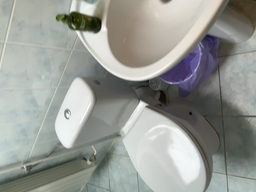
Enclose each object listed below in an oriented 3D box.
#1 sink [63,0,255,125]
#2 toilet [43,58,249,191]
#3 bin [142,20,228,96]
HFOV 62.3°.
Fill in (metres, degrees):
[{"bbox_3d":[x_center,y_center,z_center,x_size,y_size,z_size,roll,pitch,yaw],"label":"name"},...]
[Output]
[{"bbox_3d":[0.080,-0.290,0.620,0.450,0.160,0.580,48,122,26],"label":"sink"},{"bbox_3d":[0.110,0.190,1.110,0.710,0.740,0.380,48,122,26],"label":"toilet"},{"bbox_3d":[0.320,-0.210,1.210,0.310,0.260,0.260,48,122,26],"label":"bin"}]
